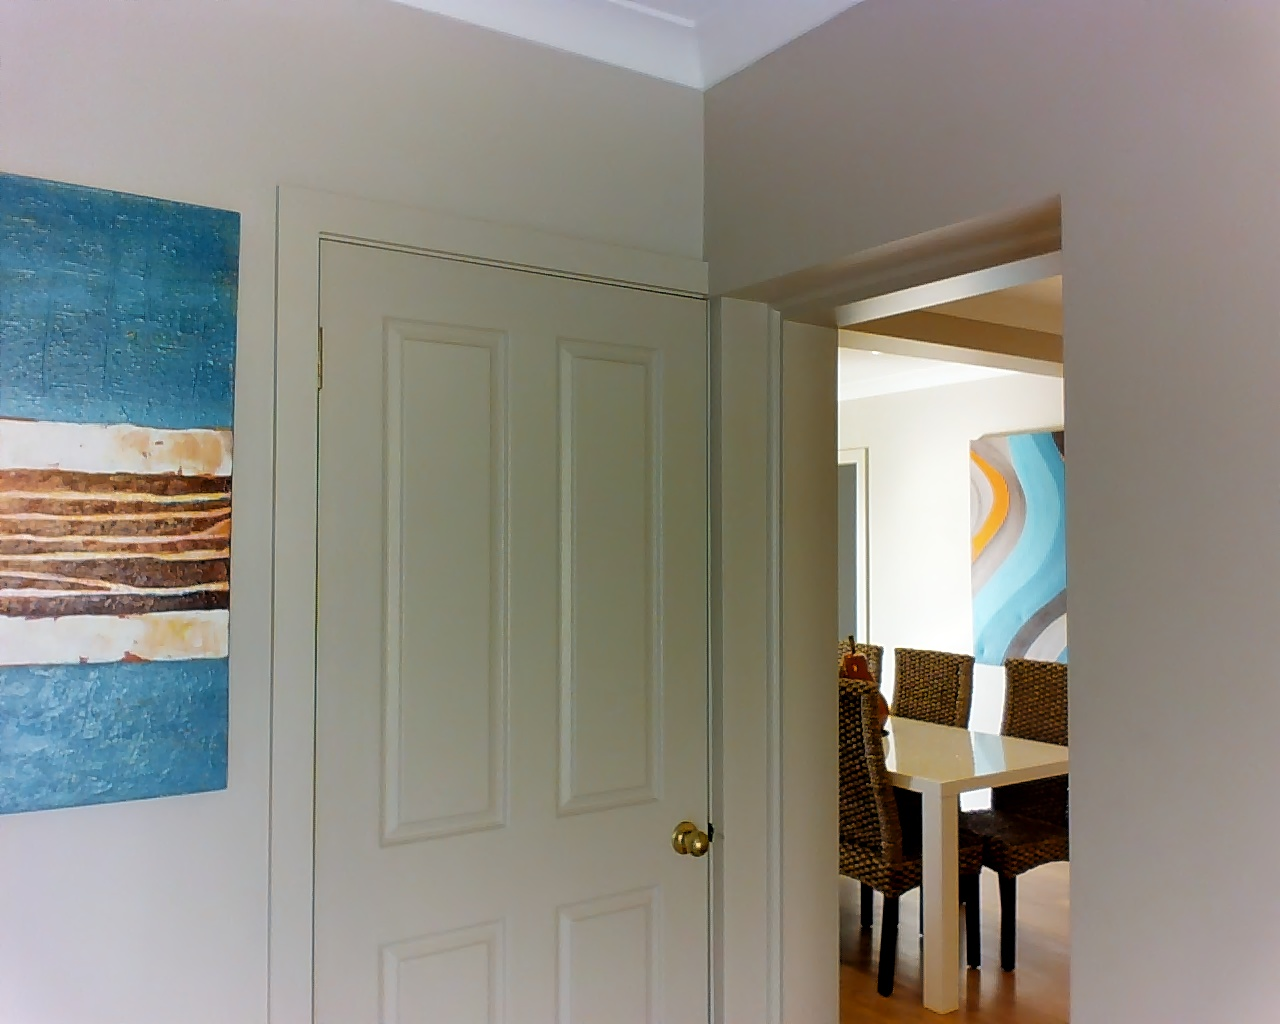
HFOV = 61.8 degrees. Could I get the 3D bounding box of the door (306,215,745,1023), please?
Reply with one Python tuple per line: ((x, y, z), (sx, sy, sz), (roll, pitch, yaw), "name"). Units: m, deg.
((-0.170, 0.560, 1.970), (0.850, 2.061, 0.090), (2, -2, -34), "door")
